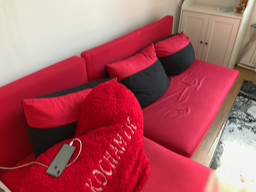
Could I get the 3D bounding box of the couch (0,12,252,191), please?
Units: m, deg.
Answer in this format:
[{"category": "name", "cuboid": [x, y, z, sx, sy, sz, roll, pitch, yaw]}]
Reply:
[{"category": "couch", "cuboid": [0.170, 0.010, 1.630, 0.880, 0.760, 2.090, 21, 39, 28]}]
